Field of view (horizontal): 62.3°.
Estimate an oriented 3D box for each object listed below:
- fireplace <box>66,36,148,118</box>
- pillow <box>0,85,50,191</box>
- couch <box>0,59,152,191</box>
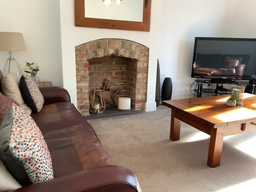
[{"bbox_3d":[-0.330,-0.340,3.440,1.190,1.170,0.450,-5,15,-25],"label":"fireplace"},{"bbox_3d":[-0.530,0.230,0.960,0.250,0.340,0.460,-9,38,-26],"label":"pillow"},{"bbox_3d":[-0.850,0.230,1.680,1.050,0.870,2.250,-5,15,-23],"label":"couch"}]
